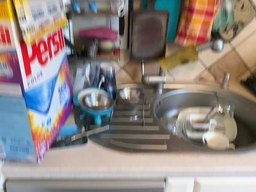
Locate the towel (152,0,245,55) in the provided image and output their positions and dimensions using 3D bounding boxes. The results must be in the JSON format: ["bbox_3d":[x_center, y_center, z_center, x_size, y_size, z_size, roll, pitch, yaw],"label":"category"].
[{"bbox_3d":[0.290,-0.360,0.900,0.340,0.350,0.100,0,29,-3],"label":"towel"}]
